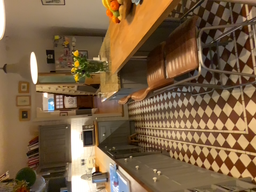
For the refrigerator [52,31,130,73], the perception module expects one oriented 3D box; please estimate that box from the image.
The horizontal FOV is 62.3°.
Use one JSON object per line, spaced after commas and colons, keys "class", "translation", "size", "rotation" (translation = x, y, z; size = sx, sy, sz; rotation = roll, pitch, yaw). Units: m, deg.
{"class": "refrigerator", "translation": [-0.870, -0.990, 4.980], "size": [0.720, 1.670, 0.750], "rotation": [163, 104, -74]}
